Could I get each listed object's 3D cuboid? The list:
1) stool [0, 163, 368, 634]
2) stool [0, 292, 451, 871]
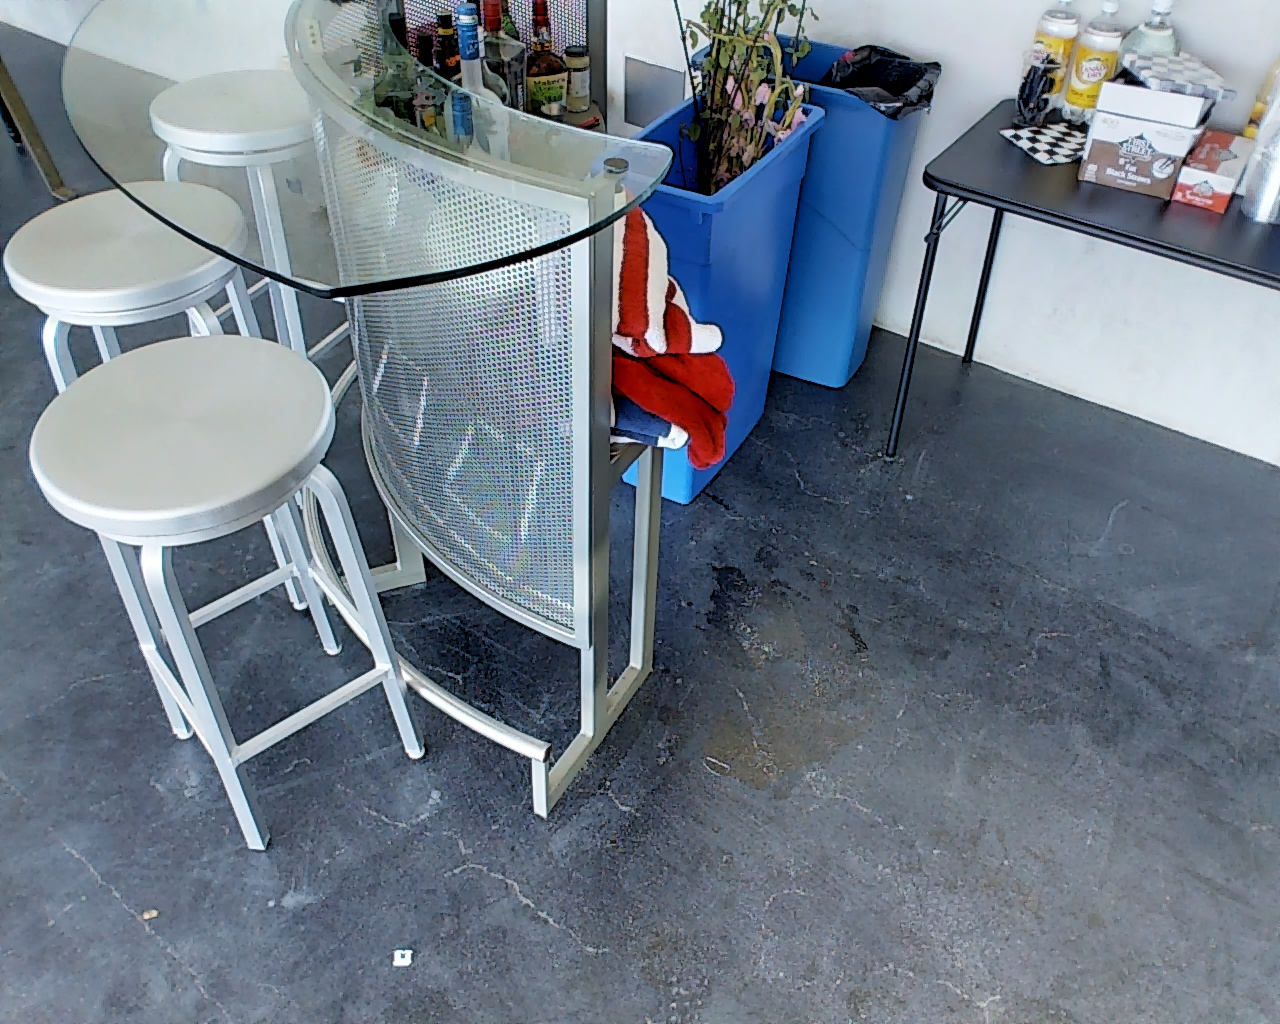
[{"bbox_3d":[-0.820,-0.200,2.020,0.480,0.730,0.400,-8,43,-10],"label":"stool"},{"bbox_3d":[-0.600,0.120,1.670,0.380,0.730,0.390,-30,51,-29],"label":"stool"}]
